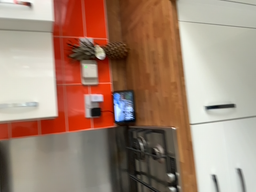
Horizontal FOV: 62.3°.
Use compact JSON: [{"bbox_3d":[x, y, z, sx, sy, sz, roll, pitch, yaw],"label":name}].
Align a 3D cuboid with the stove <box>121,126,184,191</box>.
[{"bbox_3d":[0.110,0.460,1.110,0.540,0.050,0.590,164,102,-67],"label":"stove"}]
